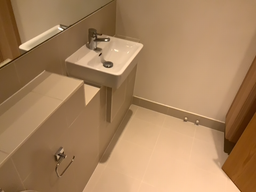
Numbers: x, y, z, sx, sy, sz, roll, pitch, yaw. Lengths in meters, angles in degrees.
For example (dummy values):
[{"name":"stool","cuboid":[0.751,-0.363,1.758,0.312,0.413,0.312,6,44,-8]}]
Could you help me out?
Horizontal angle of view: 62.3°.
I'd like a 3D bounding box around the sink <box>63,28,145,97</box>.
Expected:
[{"name":"sink","cuboid":[-0.130,-0.250,1.410,0.340,0.170,0.500,17,40,12]}]
